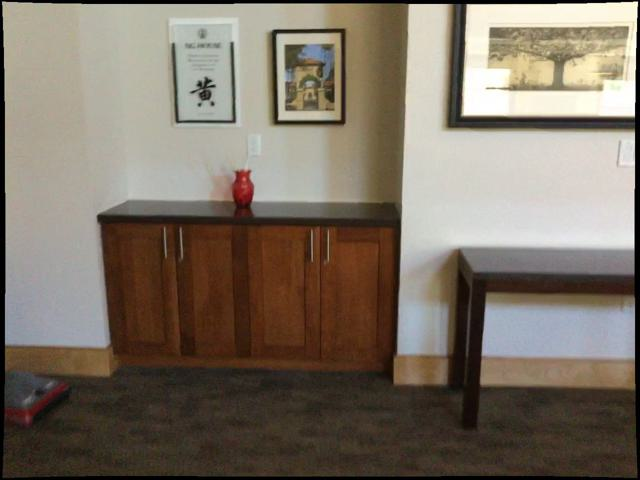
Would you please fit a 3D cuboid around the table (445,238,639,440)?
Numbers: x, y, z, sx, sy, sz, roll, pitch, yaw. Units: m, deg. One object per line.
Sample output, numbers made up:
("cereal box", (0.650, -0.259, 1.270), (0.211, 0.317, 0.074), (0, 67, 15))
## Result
("table", (1.249, 0.400, 2.500), (1.319, 0.711, 0.510), (0, 14, 6))
